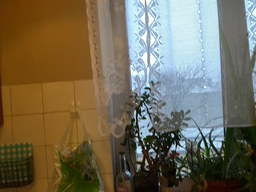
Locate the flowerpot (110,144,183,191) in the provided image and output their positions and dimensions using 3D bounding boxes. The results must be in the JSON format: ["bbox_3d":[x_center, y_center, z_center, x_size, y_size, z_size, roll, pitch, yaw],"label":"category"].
[{"bbox_3d":[0.090,0.440,1.020,0.310,0.360,0.160,-4,-1,1],"label":"flowerpot"}]

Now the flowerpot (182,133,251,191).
[{"bbox_3d":[0.400,0.380,0.990,0.210,0.360,0.250,-4,-1,2],"label":"flowerpot"}]
